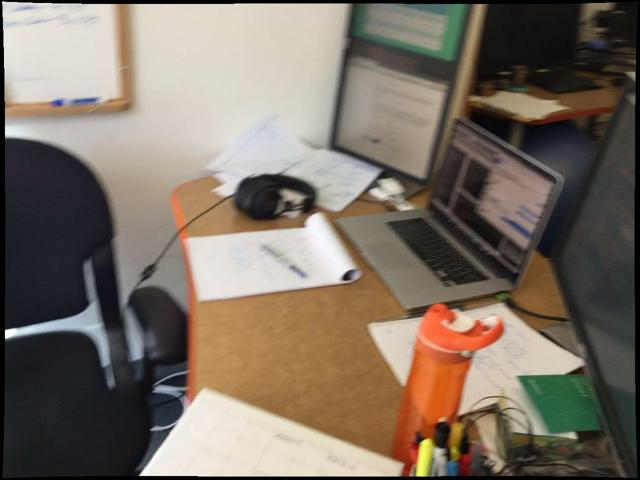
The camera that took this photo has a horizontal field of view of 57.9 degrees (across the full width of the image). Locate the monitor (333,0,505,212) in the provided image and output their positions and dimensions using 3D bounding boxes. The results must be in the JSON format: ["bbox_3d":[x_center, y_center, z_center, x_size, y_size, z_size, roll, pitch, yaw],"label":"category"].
[{"bbox_3d":[0.210,-0.410,1.420,0.190,0.540,0.400,-6,34,-18],"label":"monitor"}]

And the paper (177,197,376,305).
[{"bbox_3d":[-0.100,0.010,1.210,0.360,0.060,0.250,-6,34,-18],"label":"paper"}]

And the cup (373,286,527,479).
[{"bbox_3d":[0.150,0.210,0.730,0.090,0.270,0.130,-6,34,-18],"label":"cup"}]

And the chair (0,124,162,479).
[{"bbox_3d":[-0.619,0.160,1.100,0.540,0.550,0.590,-6,34,-18],"label":"chair"}]
